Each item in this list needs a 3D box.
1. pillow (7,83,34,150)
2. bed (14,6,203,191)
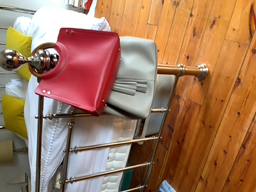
[{"bbox_3d":[-1.260,0.210,2.450,0.600,0.220,0.530,39,123,52],"label":"pillow"},{"bbox_3d":[-0.600,0.140,2.080,2.140,0.770,1.660,39,123,52],"label":"bed"}]
